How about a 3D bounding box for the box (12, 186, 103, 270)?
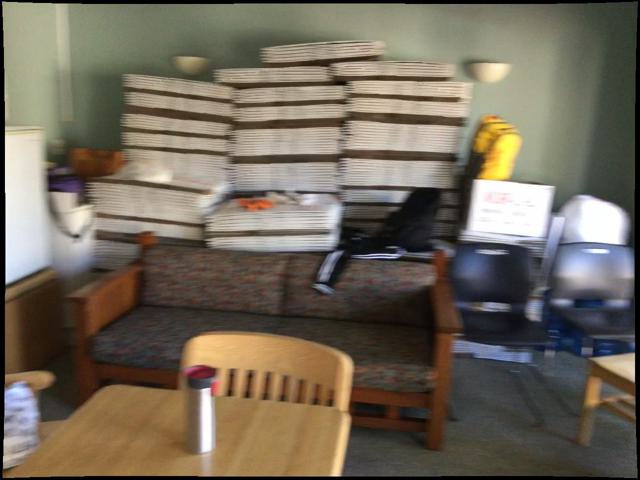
[{"bbox_3d":[-1.578,-0.080,3.500,0.400,0.440,0.240,4,16,9],"label":"box"}]
